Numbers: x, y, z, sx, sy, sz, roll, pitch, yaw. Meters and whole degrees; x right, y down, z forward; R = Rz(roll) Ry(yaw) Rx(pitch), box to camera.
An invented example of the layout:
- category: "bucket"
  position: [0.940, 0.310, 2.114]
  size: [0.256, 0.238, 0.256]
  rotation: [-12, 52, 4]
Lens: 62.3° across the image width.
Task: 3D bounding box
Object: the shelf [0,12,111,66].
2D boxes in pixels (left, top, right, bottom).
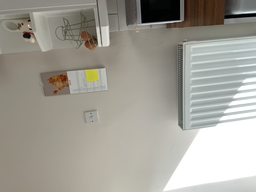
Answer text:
- category: "shelf"
  position: [-0.600, -0.290, 1.110]
  size: [0.320, 0.990, 0.210]
  rotation: [-116, 21, -71]

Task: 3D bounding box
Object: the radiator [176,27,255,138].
- category: "radiator"
  position: [0.710, -0.090, 1.480]
  size: [0.120, 0.710, 0.720]
  rotation: [-113, 18, -68]
